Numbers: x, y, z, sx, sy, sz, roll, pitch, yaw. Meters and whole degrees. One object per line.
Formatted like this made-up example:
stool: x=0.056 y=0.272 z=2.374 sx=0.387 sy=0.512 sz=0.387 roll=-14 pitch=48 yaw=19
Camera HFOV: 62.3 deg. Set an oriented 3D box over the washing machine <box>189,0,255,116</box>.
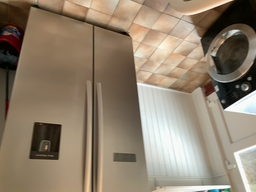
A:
washing machine: x=1.140 y=-0.350 z=1.920 sx=0.770 sy=0.850 sz=0.590 roll=9 pitch=147 yaw=-24
